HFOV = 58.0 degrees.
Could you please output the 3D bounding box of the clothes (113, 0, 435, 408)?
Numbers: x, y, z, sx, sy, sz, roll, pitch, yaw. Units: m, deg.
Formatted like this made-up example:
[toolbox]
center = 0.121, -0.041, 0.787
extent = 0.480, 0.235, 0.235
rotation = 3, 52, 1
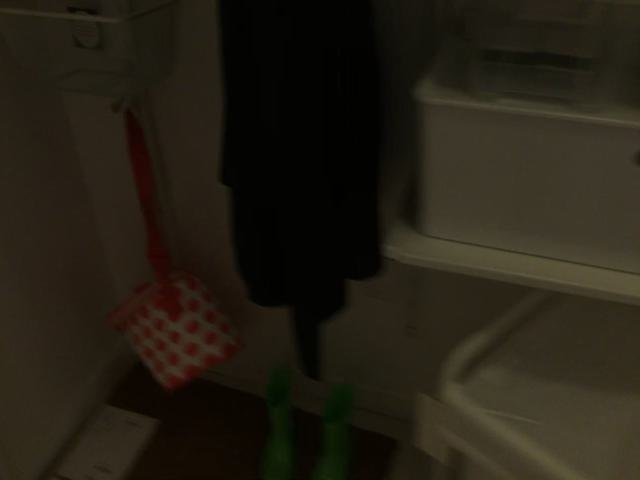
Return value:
[clothes]
center = -0.020, -0.370, 0.760
extent = 0.280, 1.180, 0.450
rotation = 11, 37, 16
